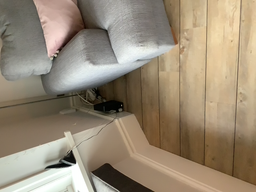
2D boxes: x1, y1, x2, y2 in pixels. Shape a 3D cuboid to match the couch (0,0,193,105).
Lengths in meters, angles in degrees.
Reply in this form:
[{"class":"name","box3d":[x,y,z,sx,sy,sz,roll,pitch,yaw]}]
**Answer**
[{"class":"couch","box3d":[-0.380,-0.610,1.410,1.020,0.870,1.020,-19,85,49]}]
